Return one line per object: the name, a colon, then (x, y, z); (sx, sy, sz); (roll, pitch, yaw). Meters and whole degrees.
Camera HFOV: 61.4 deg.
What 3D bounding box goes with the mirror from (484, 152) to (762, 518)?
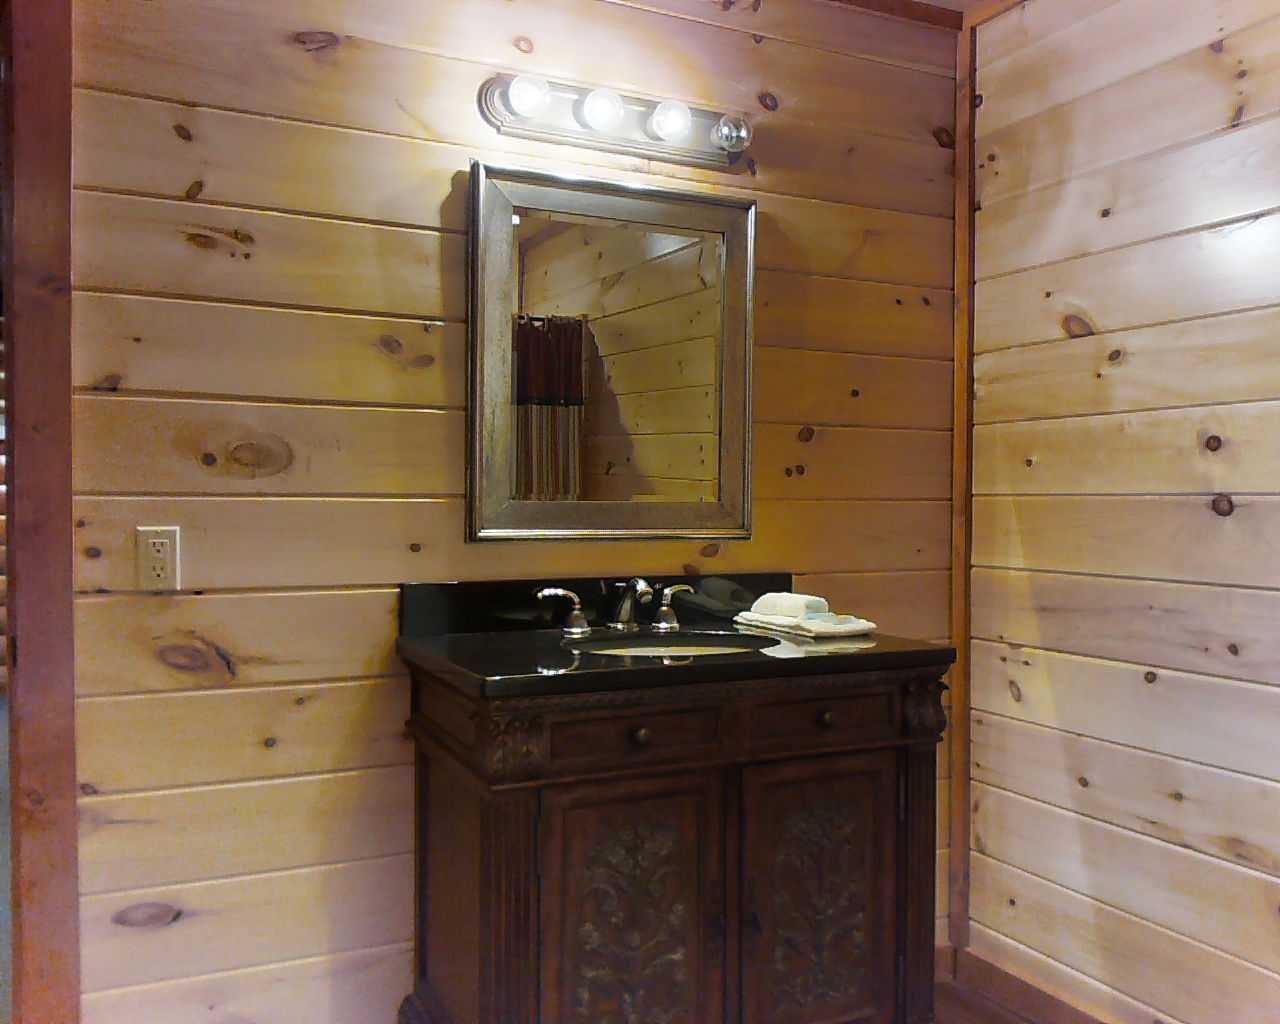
mirror: (-0.020, -0.350, 2.280); (0.630, 0.720, 0.040); (0, 1, -26)
